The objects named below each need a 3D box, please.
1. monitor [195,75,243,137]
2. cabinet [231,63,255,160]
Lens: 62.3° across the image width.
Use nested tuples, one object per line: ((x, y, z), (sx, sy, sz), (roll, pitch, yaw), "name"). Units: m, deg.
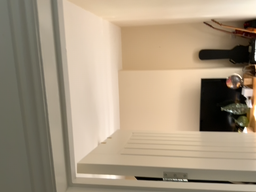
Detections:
((1.430, 0.160, 3.370), (0.040, 0.600, 0.960), (-54, -32, -77), "monitor")
((1.930, 0.200, 3.200), (0.610, 0.420, 1.360), (-57, -33, -76), "cabinet")
